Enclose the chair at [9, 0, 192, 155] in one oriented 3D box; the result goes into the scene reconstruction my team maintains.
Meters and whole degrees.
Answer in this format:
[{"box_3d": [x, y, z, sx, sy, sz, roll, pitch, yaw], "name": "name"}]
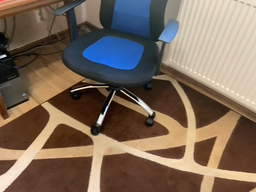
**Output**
[{"box_3d": [-0.050, -0.390, 1.120, 0.650, 1.140, 0.710, 18, 46, 11], "name": "chair"}]
